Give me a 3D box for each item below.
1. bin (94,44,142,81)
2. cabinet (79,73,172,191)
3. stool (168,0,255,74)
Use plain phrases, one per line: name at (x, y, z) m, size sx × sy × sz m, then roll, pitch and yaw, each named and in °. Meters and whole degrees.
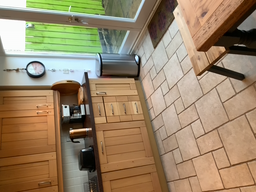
bin at (-0.180, -0.530, 3.430) m, size 0.370 × 0.630 × 0.440 m, roll 131°, pitch 132°, yaw -59°
cabinet at (-0.040, 0.950, 2.870) m, size 0.560 × 0.890 × 2.600 m, roll 127°, pitch 136°, yaw -57°
stool at (0.660, -0.520, 1.590) m, size 0.360 × 0.450 × 0.610 m, roll 129°, pitch 134°, yaw -58°
